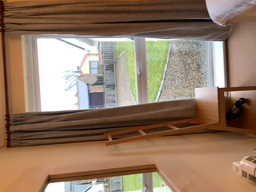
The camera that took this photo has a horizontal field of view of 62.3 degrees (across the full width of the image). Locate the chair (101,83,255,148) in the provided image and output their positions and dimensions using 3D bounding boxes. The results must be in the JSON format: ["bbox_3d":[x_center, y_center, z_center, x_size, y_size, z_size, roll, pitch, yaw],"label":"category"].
[{"bbox_3d":[0.460,0.140,1.910,0.410,1.370,0.450,-177,85,-80],"label":"chair"}]
